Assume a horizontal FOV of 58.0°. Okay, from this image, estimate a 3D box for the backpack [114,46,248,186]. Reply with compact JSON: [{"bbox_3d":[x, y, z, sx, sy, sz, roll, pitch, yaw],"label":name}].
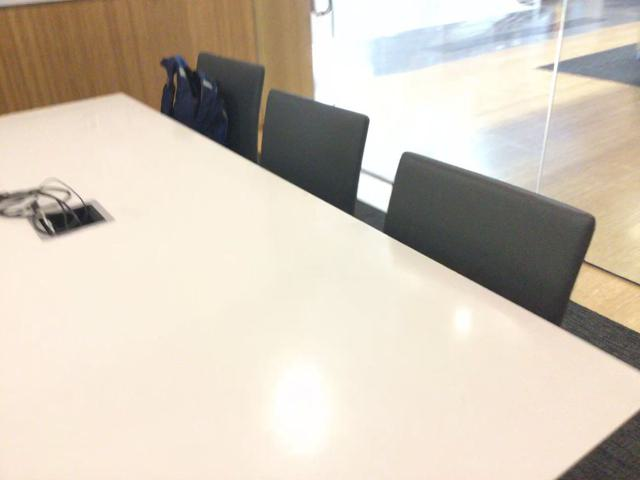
[{"bbox_3d":[-0.560,-0.520,2.370,0.380,0.440,0.320,-21,34,-31],"label":"backpack"}]
